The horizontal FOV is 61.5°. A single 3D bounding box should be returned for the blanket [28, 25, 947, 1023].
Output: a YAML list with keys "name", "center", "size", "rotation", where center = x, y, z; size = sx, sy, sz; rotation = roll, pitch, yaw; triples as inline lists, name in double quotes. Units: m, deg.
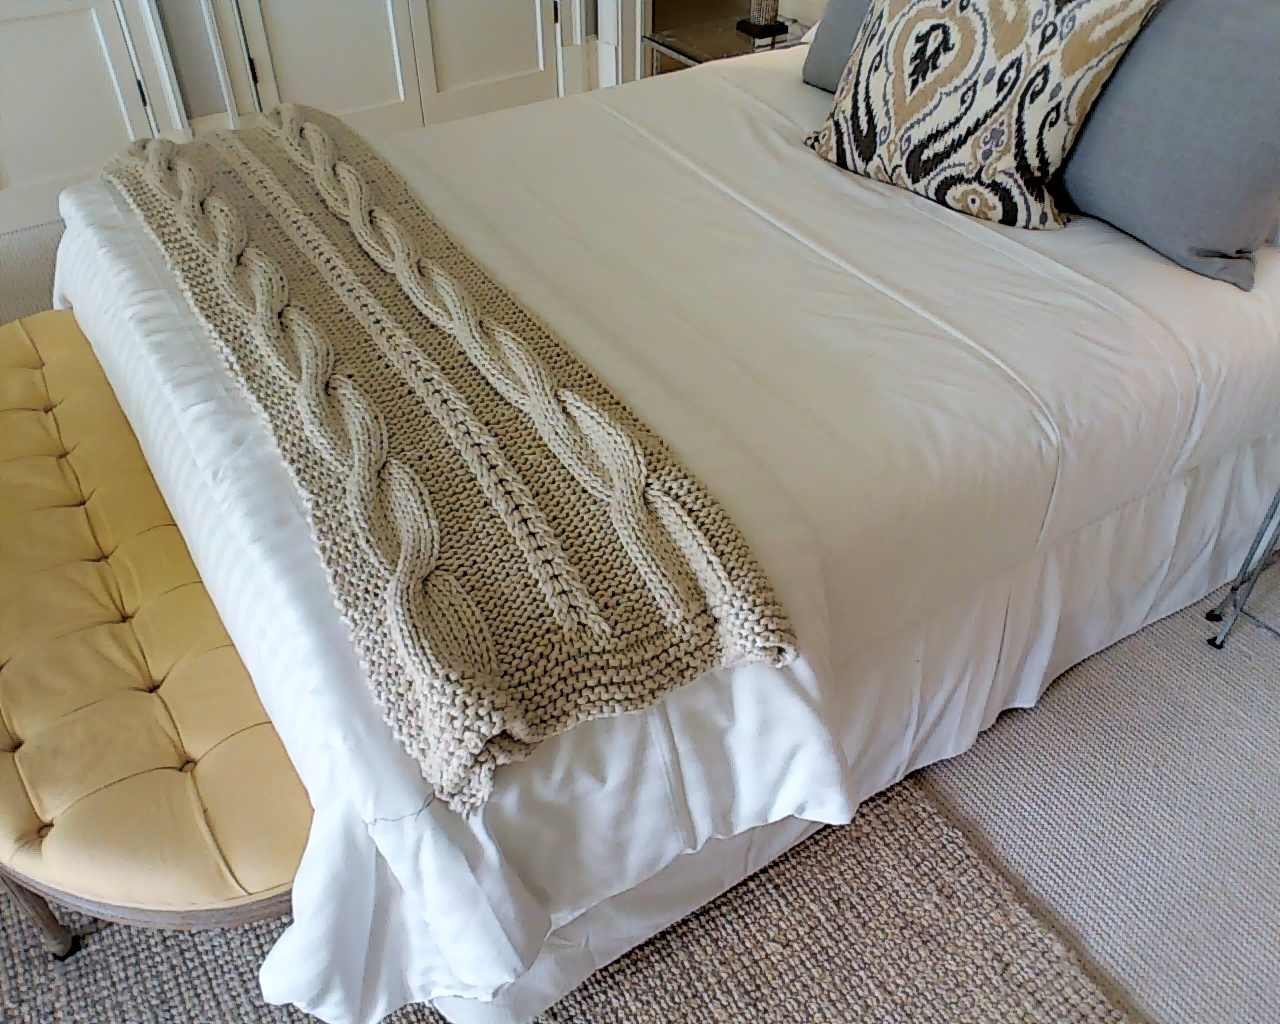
- name: "blanket"
  center: [-0.440, -0.230, 1.790]
  size: [0.620, 0.510, 1.910]
  rotation: [-22, 46, -23]

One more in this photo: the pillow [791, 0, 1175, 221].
- name: "pillow"
  center: [0.610, -0.850, 1.960]
  size: [0.260, 0.510, 0.570]
  rotation: [-18, 33, -39]

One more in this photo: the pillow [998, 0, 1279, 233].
- name: "pillow"
  center: [0.930, -0.750, 1.850]
  size: [0.190, 0.450, 0.510]
  rotation: [-10, 27, -34]
